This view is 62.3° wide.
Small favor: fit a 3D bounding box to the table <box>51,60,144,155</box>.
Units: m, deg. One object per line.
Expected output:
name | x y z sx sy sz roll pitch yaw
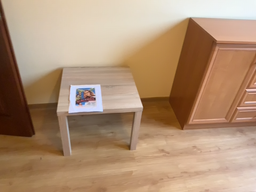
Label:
table | -0.240 0.070 1.690 0.570 0.460 0.590 -1 39 -9
